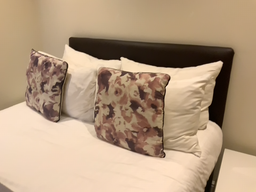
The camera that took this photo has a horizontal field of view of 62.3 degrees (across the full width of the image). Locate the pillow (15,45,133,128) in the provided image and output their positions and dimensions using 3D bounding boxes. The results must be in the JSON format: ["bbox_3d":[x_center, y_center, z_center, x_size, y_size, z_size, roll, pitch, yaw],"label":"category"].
[{"bbox_3d":[-0.380,-0.130,1.600,0.620,0.380,0.560,15,26,33],"label":"pillow"}]

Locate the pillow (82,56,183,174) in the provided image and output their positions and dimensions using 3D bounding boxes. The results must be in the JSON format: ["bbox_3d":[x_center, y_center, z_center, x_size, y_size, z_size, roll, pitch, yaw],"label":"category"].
[{"bbox_3d":[-0.010,0.080,1.040,0.420,0.420,0.150,25,32,26],"label":"pillow"}]

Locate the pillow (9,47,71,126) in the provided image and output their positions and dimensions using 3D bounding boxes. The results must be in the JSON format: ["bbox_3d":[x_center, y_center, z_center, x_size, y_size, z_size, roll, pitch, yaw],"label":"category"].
[{"bbox_3d":[-0.600,-0.080,1.450,0.430,0.380,0.170,27,32,31],"label":"pillow"}]

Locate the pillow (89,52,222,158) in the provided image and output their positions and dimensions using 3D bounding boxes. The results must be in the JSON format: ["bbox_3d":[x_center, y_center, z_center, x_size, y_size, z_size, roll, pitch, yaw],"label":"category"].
[{"bbox_3d":[0.150,-0.010,1.250,0.610,0.380,0.410,15,26,33],"label":"pillow"}]
